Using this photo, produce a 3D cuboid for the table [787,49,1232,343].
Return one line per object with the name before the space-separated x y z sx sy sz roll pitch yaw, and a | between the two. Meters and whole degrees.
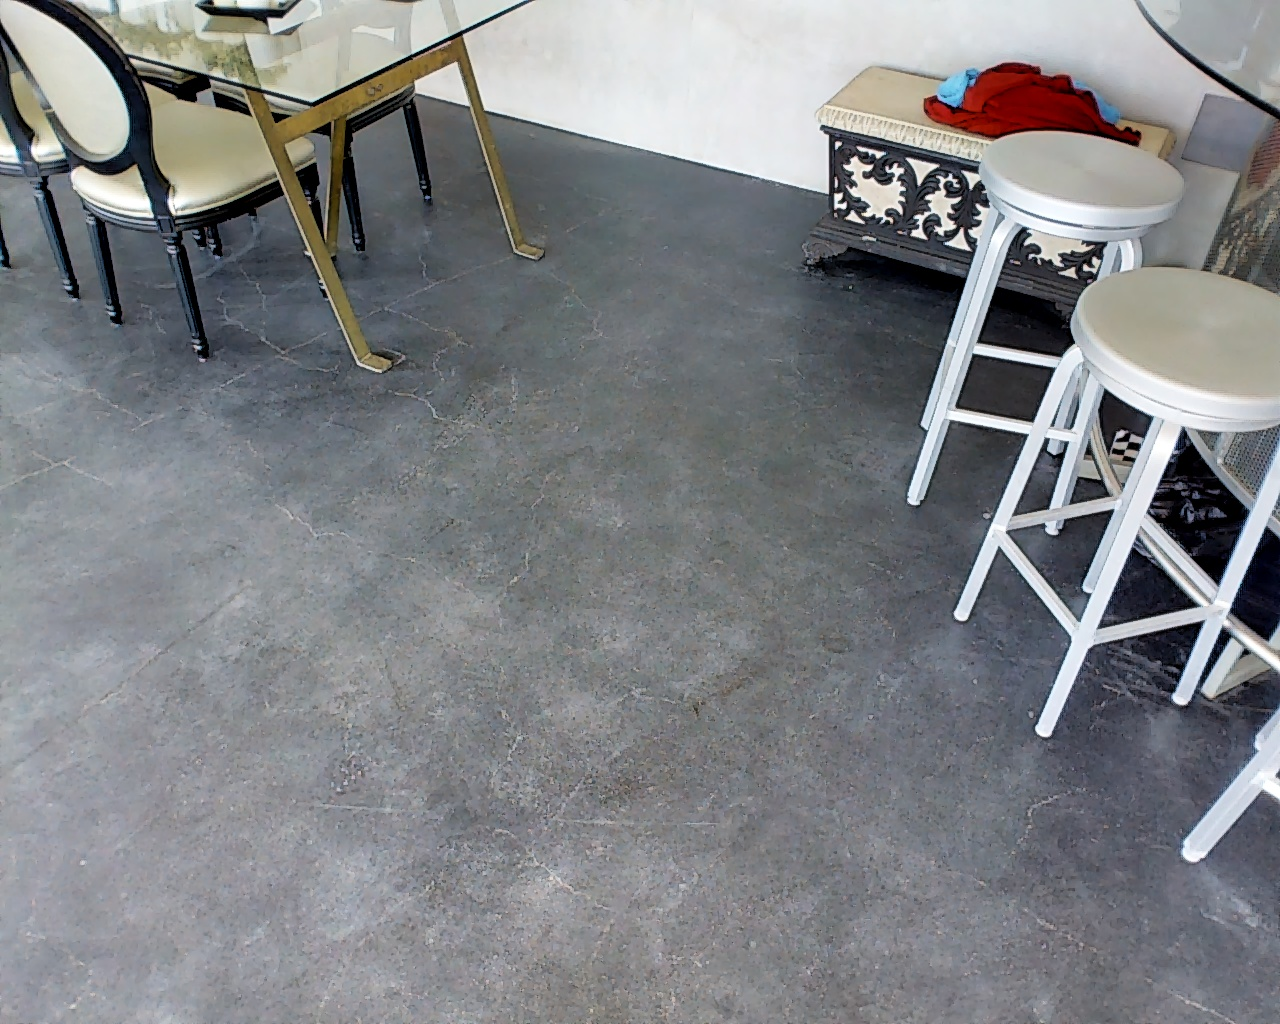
table | 1.020 -0.930 3.080 1.050 0.440 0.460 21 46 21
